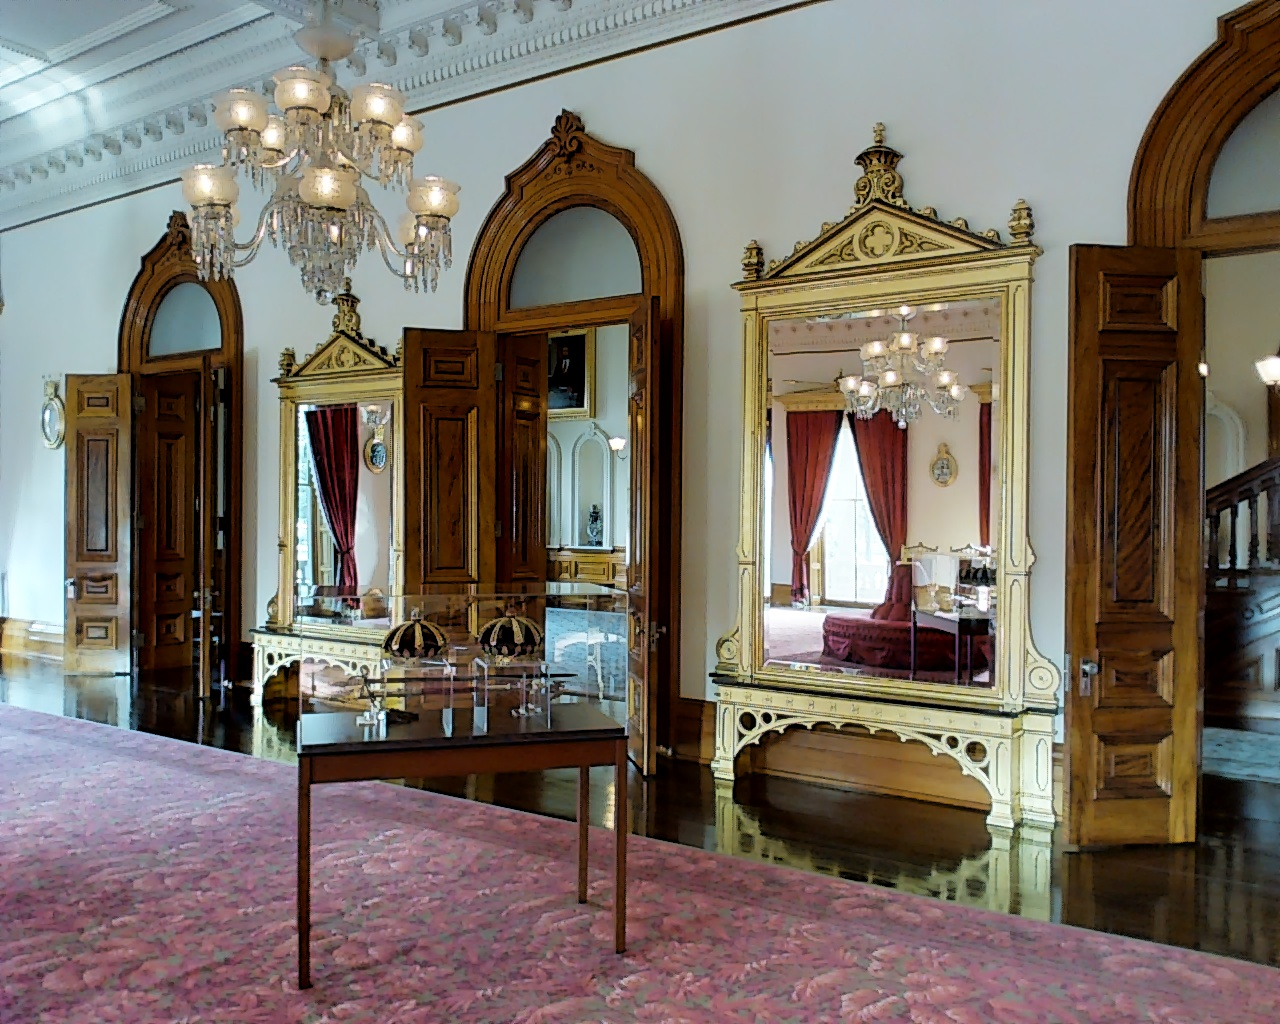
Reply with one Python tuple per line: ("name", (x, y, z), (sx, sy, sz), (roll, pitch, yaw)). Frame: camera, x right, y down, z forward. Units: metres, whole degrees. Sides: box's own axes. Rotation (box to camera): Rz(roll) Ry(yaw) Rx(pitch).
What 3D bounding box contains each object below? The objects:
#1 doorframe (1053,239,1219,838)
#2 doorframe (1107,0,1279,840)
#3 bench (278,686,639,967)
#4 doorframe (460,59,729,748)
("doorframe", (2.400, 0.130, 5.210), (0.730, 2.840, 0.140), (1, 0, -6))
("doorframe", (3.310, -0.550, 5.110), (1.910, 4.181, 0.450), (1, 0, 34))
("bench", (-0.660, 1.100, 3.970), (1.190, 0.780, 0.710), (1, 0, -11))
("doorframe", (-0.380, -0.710, 7.690), (2.050, 4.451, 0.390), (1, 0, 34))
